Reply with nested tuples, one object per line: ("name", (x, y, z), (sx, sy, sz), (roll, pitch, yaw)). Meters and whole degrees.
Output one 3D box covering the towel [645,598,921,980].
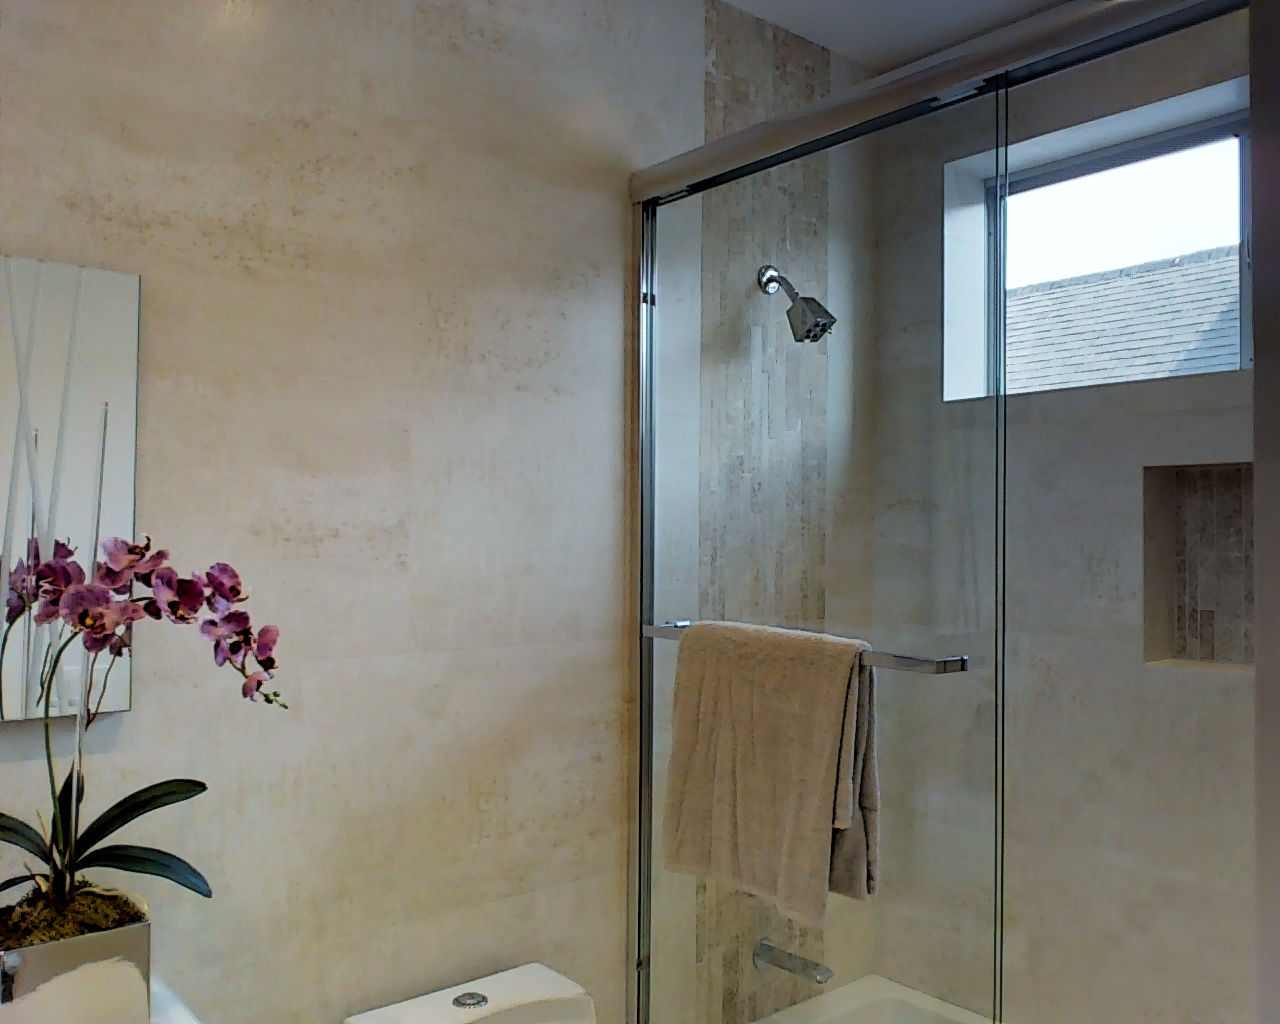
("towel", (0.220, 0.410, 1.750), (0.190, 0.510, 0.430), (1, -1, -40))
